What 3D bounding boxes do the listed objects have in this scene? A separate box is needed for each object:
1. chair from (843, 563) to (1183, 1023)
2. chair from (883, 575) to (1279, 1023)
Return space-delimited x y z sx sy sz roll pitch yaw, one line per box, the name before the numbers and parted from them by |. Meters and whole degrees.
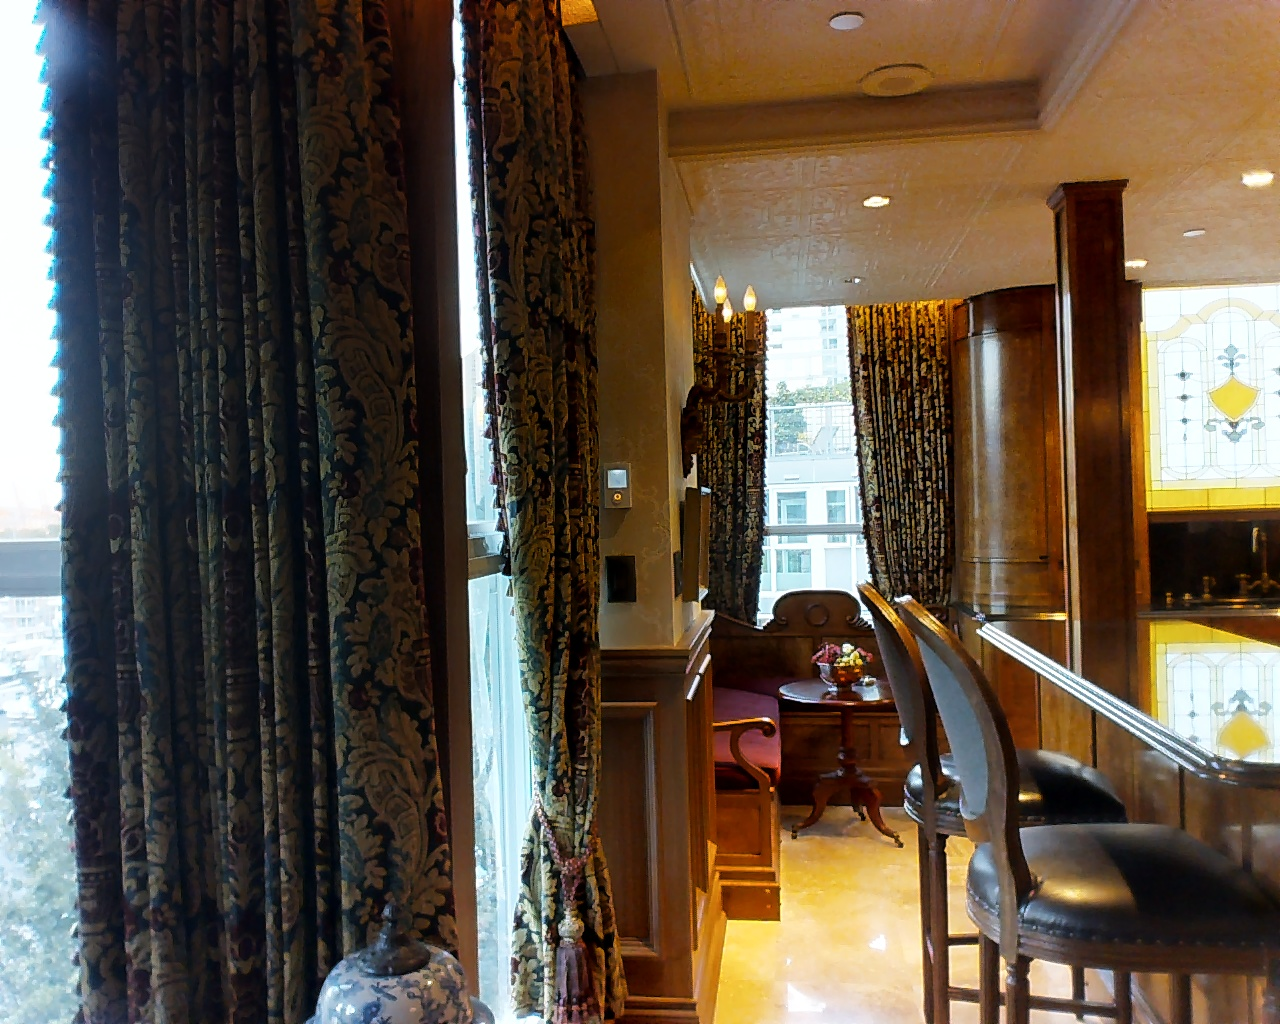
chair | 0.900 0.780 2.730 0.690 1.260 0.560 -2 0 8
chair | 0.820 0.770 2.010 0.650 1.260 0.570 -2 0 10
